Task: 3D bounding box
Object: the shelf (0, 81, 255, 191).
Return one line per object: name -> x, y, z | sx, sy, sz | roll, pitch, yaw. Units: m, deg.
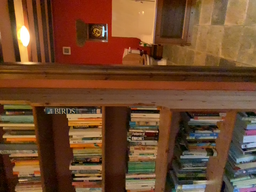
shelf -> 0.050, 0.460, 1.420 | 0.400, 1.880, 1.020 | -108, 19, -71
